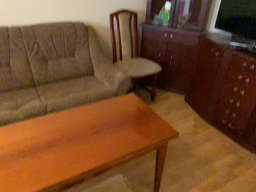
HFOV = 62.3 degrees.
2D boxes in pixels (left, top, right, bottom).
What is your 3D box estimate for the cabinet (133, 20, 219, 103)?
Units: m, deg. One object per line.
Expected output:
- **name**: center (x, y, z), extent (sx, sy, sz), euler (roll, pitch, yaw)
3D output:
- **cabinet**: center (0.560, -0.490, 2.740), extent (0.690, 0.790, 0.680), euler (-13, 35, -26)
